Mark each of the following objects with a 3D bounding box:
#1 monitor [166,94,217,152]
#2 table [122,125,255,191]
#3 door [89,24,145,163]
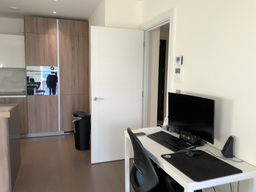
[{"bbox_3d":[0.570,0.220,2.000,0.050,0.420,0.560,1,7,-27],"label":"monitor"},{"bbox_3d":[0.430,0.810,1.960,0.620,0.760,1.210,-1,7,-19],"label":"table"},{"bbox_3d":[-0.160,-0.010,3.250,0.850,2.030,0.070,-2,7,-21],"label":"door"}]
